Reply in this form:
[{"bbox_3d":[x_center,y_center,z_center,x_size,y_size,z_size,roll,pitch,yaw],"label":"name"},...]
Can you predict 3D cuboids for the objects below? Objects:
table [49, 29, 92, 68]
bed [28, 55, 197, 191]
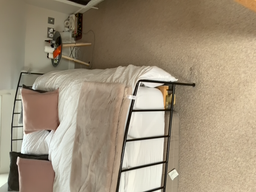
[{"bbox_3d":[-0.780,-0.620,2.870,0.420,0.420,0.430,11,98,54],"label":"table"},{"bbox_3d":[-0.500,0.520,2.290,2.310,0.580,1.720,11,97,54],"label":"bed"}]
